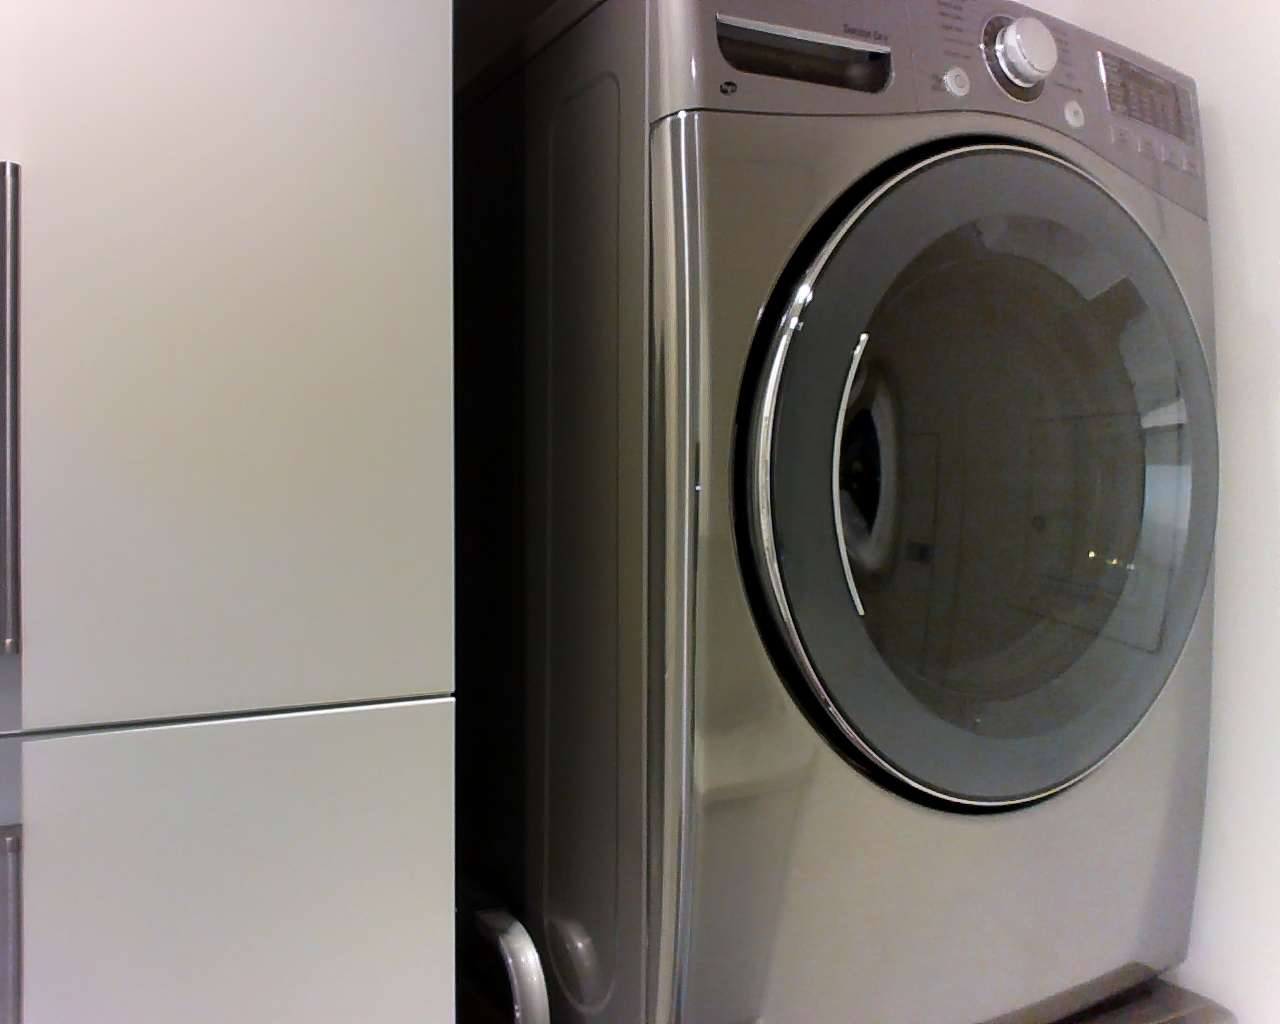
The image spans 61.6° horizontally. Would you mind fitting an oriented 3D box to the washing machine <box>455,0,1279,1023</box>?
[{"bbox_3d":[0.240,-0.040,1.140,0.750,1.180,0.450,0,0,-30],"label":"washing machine"}]
